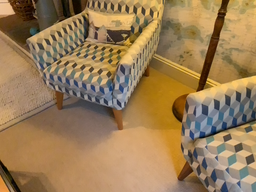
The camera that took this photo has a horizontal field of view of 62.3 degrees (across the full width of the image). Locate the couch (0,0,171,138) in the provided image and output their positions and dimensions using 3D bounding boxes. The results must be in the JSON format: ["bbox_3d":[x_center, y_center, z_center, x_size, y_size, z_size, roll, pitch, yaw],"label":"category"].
[{"bbox_3d":[-0.180,-0.380,1.590,0.730,0.820,0.860,17,45,17],"label":"couch"}]
